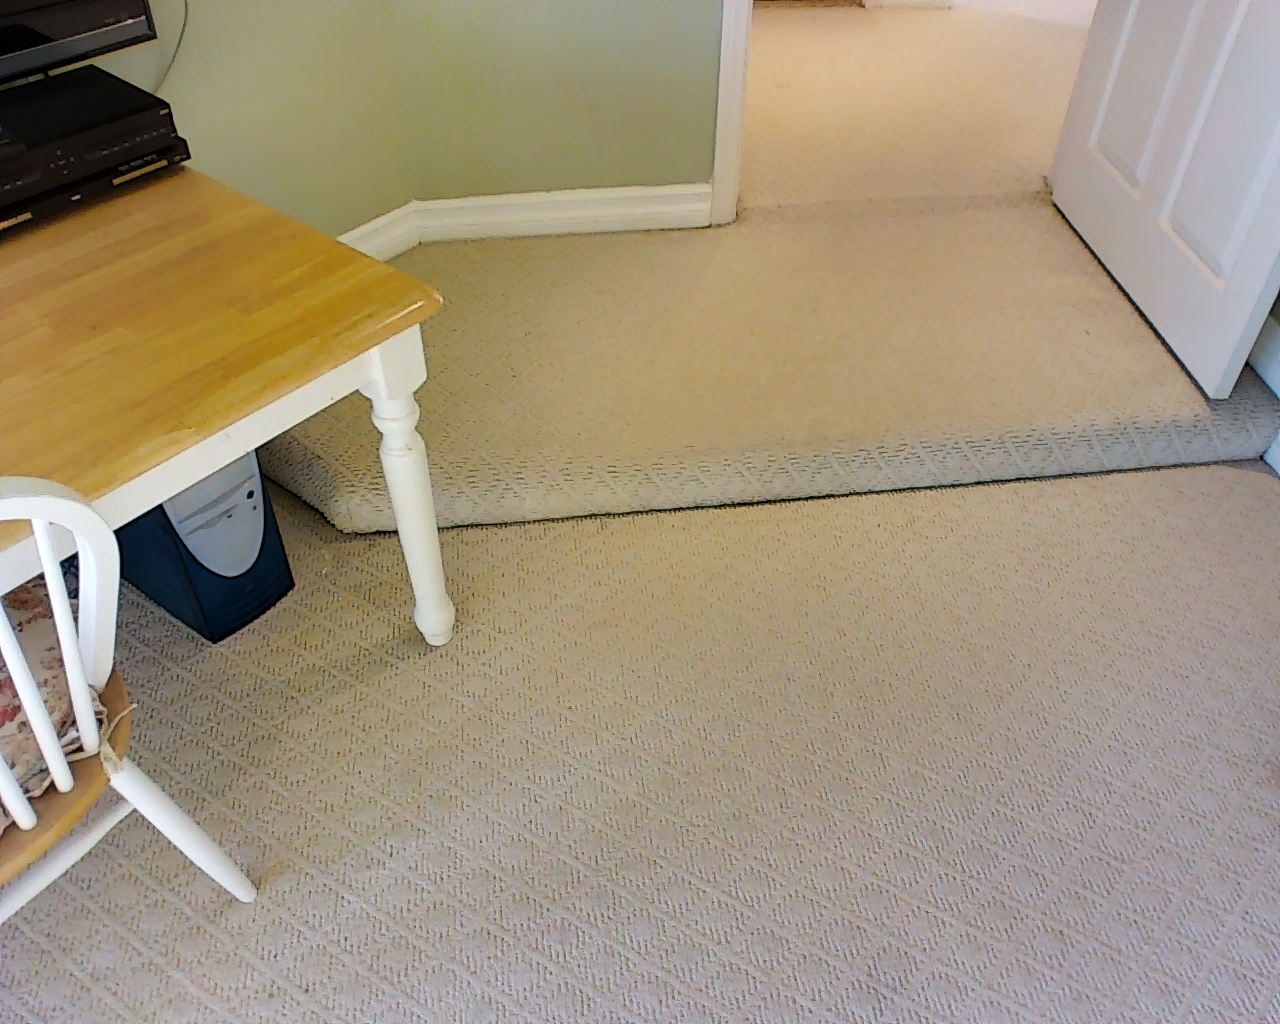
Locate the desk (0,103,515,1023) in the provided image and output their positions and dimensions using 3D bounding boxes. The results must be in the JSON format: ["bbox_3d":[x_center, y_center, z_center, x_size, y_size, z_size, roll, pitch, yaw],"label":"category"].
[{"bbox_3d":[-1.080,0.130,1.470,0.970,0.700,1.540,28,48,27],"label":"desk"}]

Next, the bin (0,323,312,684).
[{"bbox_3d":[-0.840,-0.020,1.820,0.420,0.410,0.260,28,48,27],"label":"bin"}]
